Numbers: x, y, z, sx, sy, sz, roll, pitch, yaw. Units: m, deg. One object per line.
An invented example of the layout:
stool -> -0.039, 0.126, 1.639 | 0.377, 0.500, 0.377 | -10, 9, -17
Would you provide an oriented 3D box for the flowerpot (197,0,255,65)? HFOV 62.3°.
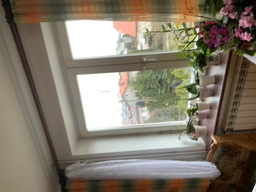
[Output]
flowerpot -> 0.650, -0.460, 1.300 | 0.440, 0.260, 0.380 | -97, 3, -60
